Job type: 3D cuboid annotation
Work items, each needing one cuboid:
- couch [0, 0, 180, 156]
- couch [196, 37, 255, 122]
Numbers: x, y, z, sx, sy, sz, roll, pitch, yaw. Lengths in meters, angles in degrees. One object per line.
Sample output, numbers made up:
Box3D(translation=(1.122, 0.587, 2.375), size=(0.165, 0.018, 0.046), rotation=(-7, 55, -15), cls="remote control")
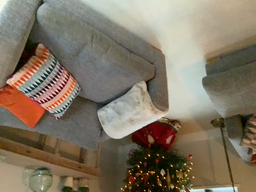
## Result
Box3D(translation=(-0.430, -0.120, 1.780), size=(1.350, 0.800, 1.000), rotation=(25, 142, -33), cls="couch")
Box3D(translation=(1.290, -0.190, 1.920), size=(1.080, 0.420, 0.650), rotation=(-18, 144, 30), cls="couch")
